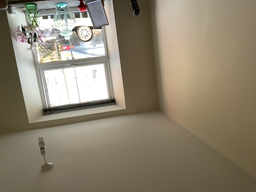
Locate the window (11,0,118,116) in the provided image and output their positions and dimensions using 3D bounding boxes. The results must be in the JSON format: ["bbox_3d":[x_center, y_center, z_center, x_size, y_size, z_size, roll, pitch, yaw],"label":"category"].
[{"bbox_3d":[-0.840,-0.570,3.060,1.190,1.520,0.280,-8,-169,-9],"label":"window"}]
